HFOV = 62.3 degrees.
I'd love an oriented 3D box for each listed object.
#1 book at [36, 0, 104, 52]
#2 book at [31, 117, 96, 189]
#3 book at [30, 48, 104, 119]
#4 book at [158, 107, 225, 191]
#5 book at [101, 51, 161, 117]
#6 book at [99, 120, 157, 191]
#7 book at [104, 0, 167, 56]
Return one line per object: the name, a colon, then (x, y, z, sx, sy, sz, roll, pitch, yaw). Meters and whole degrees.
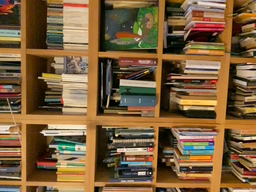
book: (-0.350, -0.500, 1.380, 0.310, 0.360, 0.360, -144, 56, -86)
book: (-0.410, 0.360, 1.420, 0.300, 0.350, 0.380, -121, 34, -84)
book: (-0.370, -0.080, 1.370, 0.290, 0.400, 0.390, -124, 37, -84)
book: (0.420, 0.350, 1.480, 0.300, 0.330, 0.490, -121, 34, -84)
book: (0.010, -0.080, 1.410, 0.230, 0.350, 0.390, -118, 31, -83)
book: (-0.010, 0.380, 1.420, 0.310, 0.330, 0.370, -128, 41, -85)
book: (0.040, -0.470, 1.380, 0.240, 0.360, 0.360, -144, 56, -86)
